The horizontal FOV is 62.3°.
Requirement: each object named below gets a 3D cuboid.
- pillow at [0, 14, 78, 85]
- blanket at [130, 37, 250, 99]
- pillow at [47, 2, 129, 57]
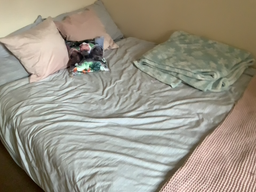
[{"bbox_3d":[-0.610,-0.330,1.450,0.330,0.390,0.190,-26,-11,-44],"label":"pillow"},{"bbox_3d":[0.380,-0.220,1.380,0.380,0.640,0.100,-34,-45,-37],"label":"blanket"},{"bbox_3d":[-0.310,-0.560,1.730,0.540,0.320,0.180,-26,-11,-40],"label":"pillow"}]
